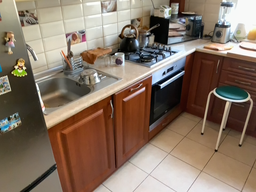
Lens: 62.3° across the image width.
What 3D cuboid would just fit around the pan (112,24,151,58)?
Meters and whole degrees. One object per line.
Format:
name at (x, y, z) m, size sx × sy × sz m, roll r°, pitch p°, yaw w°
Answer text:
pan at (0.040, -0.550, 2.080) m, size 0.240 × 0.240 × 0.320 m, roll 18°, pitch 33°, yaw 29°
